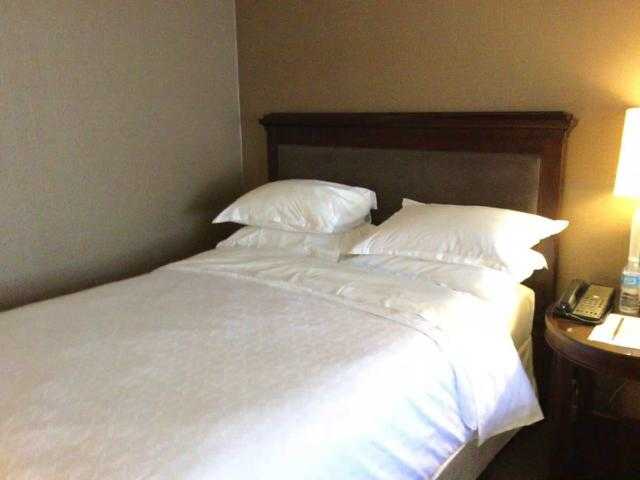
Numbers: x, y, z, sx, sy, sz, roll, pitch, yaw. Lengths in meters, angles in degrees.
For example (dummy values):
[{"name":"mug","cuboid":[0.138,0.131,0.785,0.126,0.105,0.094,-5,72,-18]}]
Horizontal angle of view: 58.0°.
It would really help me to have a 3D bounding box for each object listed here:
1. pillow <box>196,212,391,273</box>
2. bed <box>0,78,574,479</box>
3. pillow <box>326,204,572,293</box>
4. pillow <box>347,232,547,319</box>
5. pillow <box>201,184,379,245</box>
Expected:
[{"name":"pillow","cuboid":[-0.140,-0.010,2.900,0.820,0.150,0.540,6,13,39]},{"name":"bed","cuboid":[-0.340,0.280,2.150,1.770,1.440,2.160,6,13,39]},{"name":"pillow","cuboid":[0.520,0.000,2.410,0.860,0.210,0.500,6,13,39]},{"name":"pillow","cuboid":[0.520,0.120,2.400,0.670,0.190,0.460,6,13,39]},{"name":"pillow","cuboid":[-0.160,-0.150,2.920,0.780,0.210,0.470,6,13,39]}]
